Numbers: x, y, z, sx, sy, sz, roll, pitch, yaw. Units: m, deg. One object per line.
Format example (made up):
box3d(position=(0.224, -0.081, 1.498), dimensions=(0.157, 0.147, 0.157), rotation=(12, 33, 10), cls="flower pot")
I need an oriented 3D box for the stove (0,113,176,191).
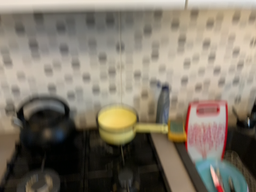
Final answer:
box3d(position=(-0.160, 0.250, 0.800), dimensions=(0.590, 0.020, 0.550), rotation=(-3, 30, -7), cls="stove")
